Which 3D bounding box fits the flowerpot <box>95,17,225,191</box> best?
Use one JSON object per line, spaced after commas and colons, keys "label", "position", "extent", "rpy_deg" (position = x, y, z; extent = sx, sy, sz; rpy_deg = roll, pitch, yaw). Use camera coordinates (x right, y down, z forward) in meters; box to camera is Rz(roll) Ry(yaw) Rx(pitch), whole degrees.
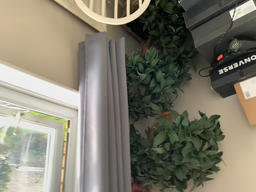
{"label": "flowerpot", "position": [0.160, 0.110, 1.200], "extent": [0.390, 0.800, 0.560], "rpy_deg": [-22, 149, 34]}
